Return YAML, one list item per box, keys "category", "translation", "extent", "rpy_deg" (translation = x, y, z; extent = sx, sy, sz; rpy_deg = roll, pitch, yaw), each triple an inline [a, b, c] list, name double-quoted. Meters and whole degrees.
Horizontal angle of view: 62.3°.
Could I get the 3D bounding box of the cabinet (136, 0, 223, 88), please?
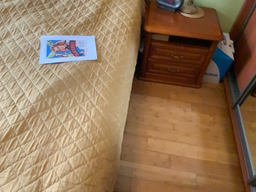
- category: "cabinet"
  translation: [0.380, -0.430, 1.750]
  extent: [0.530, 0.500, 0.440]
  rpy_deg: [8, 50, 2]
